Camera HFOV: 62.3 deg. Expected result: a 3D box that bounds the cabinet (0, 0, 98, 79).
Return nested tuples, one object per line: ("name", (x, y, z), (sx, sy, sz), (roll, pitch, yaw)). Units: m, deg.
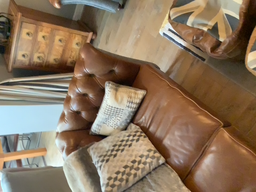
("cabinet", (-0.970, -0.660, 2.580), (0.500, 0.910, 0.680), (48, 124, 39))
